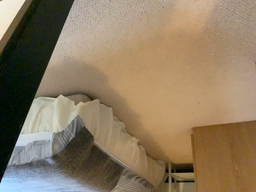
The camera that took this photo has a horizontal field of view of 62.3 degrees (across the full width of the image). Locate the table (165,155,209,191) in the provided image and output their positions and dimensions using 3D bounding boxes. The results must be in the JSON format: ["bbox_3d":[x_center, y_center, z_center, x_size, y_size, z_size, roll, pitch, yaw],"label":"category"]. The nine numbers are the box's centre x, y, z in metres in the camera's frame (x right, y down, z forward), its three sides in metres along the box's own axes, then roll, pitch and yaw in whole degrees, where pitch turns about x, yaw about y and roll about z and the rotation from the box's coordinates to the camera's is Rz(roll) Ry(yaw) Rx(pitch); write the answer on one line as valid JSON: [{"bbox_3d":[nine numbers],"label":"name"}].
[{"bbox_3d":[0.710,1.140,2.520,0.440,0.760,0.350,-11,143,23],"label":"table"}]
